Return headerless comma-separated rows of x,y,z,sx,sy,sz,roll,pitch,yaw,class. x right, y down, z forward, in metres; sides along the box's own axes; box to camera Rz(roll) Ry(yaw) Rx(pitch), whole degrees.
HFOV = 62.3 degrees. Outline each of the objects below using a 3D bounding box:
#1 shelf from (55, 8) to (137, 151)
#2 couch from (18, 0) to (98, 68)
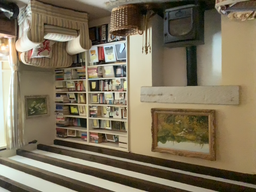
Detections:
-0.670,-0.270,4.060,1.750,2.320,0.310,1,-177,33,shelf
-1.200,-0.980,3.610,1.000,0.860,0.960,-2,-177,-40,couch
